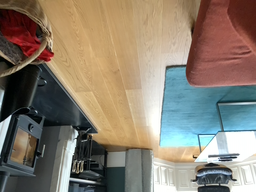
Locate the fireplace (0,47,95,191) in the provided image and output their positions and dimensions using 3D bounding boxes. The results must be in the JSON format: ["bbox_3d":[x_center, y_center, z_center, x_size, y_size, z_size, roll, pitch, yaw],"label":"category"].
[{"bbox_3d":[-1.000,0.680,1.940,0.880,1.350,1.710,-3,152,6],"label":"fireplace"}]
